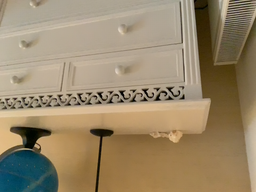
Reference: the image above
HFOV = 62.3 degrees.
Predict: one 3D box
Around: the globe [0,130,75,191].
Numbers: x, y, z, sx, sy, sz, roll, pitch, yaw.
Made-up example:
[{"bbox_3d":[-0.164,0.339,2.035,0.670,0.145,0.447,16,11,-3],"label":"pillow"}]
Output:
[{"bbox_3d":[-0.490,0.380,0.970,0.340,0.390,0.310,-3,160,13],"label":"globe"}]
